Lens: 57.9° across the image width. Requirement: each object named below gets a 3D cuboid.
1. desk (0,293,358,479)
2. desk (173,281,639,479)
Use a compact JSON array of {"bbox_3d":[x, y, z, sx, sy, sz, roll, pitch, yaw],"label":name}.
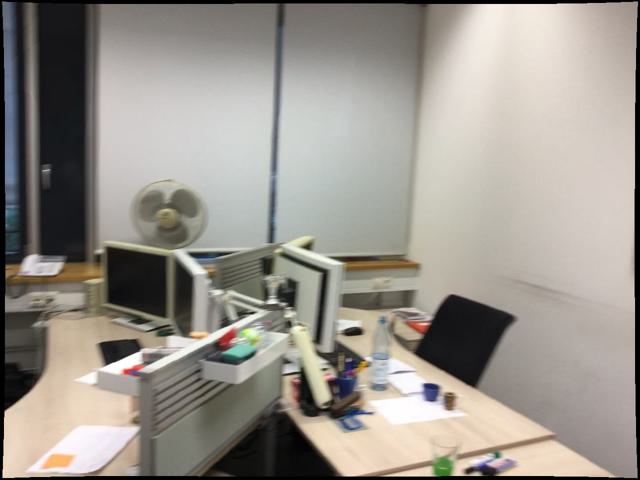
[{"bbox_3d":[-0.859,0.881,2.430,1.169,0.781,2.150,-2,9,-23],"label":"desk"},{"bbox_3d":[0.150,0.841,2.580,1.179,0.721,2.680,-2,9,-22],"label":"desk"}]
